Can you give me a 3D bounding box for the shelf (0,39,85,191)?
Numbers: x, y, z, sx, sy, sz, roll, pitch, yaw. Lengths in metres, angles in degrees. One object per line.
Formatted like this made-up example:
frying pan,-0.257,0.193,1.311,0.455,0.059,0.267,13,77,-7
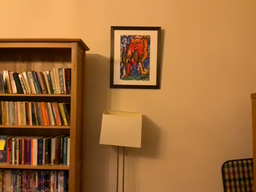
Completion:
shelf,-0.860,0.540,1.760,0.900,1.950,0.320,1,-2,0
